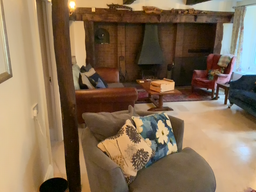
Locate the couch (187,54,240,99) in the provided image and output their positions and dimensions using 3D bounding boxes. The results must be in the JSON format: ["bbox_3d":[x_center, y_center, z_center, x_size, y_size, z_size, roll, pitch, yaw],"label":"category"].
[{"bbox_3d":[2.130,-0.530,5.340,0.950,0.910,0.730,-11,20,-32],"label":"couch"}]

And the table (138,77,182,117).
[{"bbox_3d":[0.590,-0.030,4.310,0.590,0.520,1.010,-3,17,-9],"label":"table"}]

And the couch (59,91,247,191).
[{"bbox_3d":[0.190,0.550,1.840,1.110,0.810,1.040,-14,22,-39],"label":"couch"}]

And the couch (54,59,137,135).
[{"bbox_3d":[-0.590,-0.140,4.000,1.160,0.890,1.860,-3,17,-9],"label":"couch"}]
